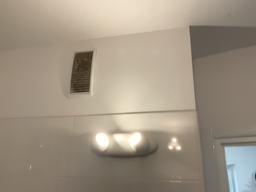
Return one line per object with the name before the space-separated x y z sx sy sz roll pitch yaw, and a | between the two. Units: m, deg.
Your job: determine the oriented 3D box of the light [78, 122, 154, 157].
light | -0.050 0.200 0.950 0.320 0.130 0.100 -5 -22 16
